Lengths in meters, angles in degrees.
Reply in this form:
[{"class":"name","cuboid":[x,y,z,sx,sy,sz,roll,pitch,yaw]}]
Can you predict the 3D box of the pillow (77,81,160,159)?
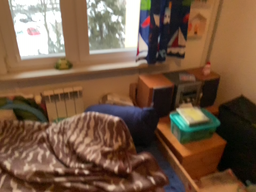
[{"class":"pillow","cuboid":[-0.110,0.150,1.740,0.490,0.270,0.580,-9,32,-20]}]
